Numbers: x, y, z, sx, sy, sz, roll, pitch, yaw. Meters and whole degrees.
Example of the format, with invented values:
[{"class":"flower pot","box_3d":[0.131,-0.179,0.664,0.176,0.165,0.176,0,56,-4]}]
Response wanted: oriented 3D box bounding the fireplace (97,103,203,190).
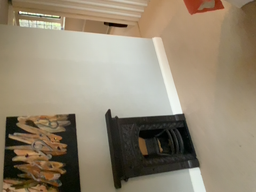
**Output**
[{"class":"fireplace","box_3d":[0.220,0.520,2.330,0.320,0.970,0.780,127,137,-57]}]
